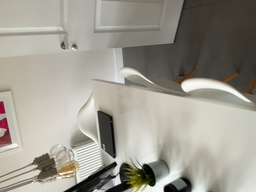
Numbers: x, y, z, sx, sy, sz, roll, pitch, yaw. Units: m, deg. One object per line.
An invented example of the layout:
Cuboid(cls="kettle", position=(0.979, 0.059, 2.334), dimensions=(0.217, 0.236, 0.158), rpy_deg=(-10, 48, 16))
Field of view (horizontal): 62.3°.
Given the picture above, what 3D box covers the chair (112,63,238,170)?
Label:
Cuboid(cls="chair", position=(0.340, 0.060, 1.450), dimensions=(0.410, 0.750, 0.490), rpy_deg=(12, 111, 55))
